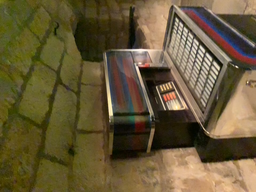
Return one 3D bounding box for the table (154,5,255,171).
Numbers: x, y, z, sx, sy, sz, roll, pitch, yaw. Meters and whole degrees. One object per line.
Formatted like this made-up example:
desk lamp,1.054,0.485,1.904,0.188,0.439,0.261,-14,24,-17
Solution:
table,0.750,-0.160,1.620,1.130,0.760,0.710,-103,15,-53
